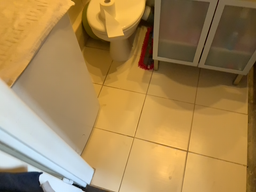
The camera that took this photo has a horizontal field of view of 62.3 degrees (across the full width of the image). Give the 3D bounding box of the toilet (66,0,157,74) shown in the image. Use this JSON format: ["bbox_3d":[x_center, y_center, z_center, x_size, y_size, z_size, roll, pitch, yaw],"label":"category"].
[{"bbox_3d":[-0.050,-0.680,1.470,0.390,0.740,0.690,12,61,11],"label":"toilet"}]
